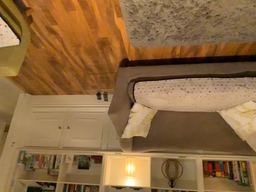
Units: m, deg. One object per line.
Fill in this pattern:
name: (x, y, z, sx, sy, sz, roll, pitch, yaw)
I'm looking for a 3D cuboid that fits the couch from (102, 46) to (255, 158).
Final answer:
couch: (0.780, 0.150, 2.470, 1.850, 0.900, 1.090, -1, 156, 10)
